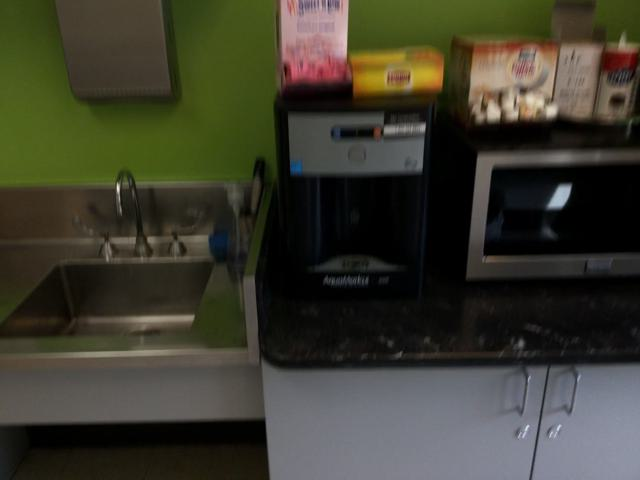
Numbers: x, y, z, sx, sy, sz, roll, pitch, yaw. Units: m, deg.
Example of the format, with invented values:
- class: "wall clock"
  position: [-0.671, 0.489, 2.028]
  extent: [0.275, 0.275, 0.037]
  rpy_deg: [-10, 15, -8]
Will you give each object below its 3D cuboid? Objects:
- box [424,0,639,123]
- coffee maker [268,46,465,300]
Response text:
- class: "box"
  position: [0.500, -0.460, 1.410]
  extent: [0.420, 0.280, 0.320]
  rpy_deg: [-1, 22, 0]
- class: "coffee maker"
  position: [0.090, -0.180, 1.370]
  extent: [0.370, 0.500, 0.410]
  rpy_deg: [-1, 22, 0]
